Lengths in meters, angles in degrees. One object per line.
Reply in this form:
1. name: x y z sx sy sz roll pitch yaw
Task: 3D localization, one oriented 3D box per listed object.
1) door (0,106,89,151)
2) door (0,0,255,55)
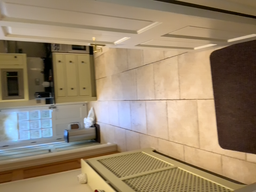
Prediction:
1. door: -1.890 0.720 4.980 0.080 1.910 0.830 -3 90 63
2. door: -0.100 -0.370 1.130 0.880 2.000 0.080 0 93 63
